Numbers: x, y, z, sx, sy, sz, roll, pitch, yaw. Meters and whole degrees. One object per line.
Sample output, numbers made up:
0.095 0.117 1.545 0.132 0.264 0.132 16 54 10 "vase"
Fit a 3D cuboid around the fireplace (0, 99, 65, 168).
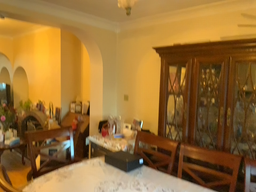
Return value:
-2.020 0.640 4.330 1.700 0.980 0.630 7 7 43 "fireplace"
